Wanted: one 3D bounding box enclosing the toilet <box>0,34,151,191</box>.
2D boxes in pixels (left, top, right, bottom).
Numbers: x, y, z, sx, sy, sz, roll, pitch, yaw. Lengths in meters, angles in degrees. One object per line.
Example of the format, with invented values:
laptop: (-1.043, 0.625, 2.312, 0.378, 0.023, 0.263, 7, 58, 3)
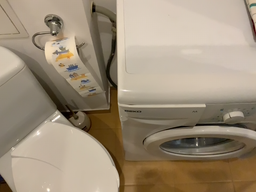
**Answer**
toilet: (-0.320, 0.260, 0.890, 0.670, 0.730, 0.380, 38, 70, 16)
